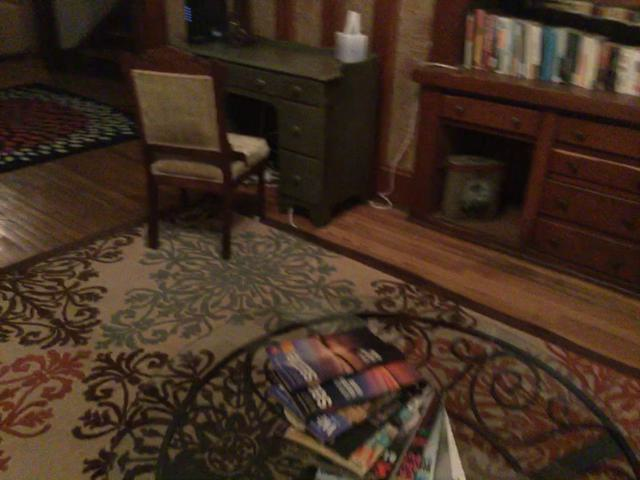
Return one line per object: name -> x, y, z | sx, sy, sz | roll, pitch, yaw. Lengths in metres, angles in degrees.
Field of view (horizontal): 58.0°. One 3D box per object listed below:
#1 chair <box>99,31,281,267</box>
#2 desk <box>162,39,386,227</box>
chair -> -0.540, -0.440, 2.650 | 0.560, 0.890, 0.550 | 10, 28, 15
desk -> -0.260, -0.640, 3.170 | 1.110, 0.790, 0.490 | 17, 29, 33
